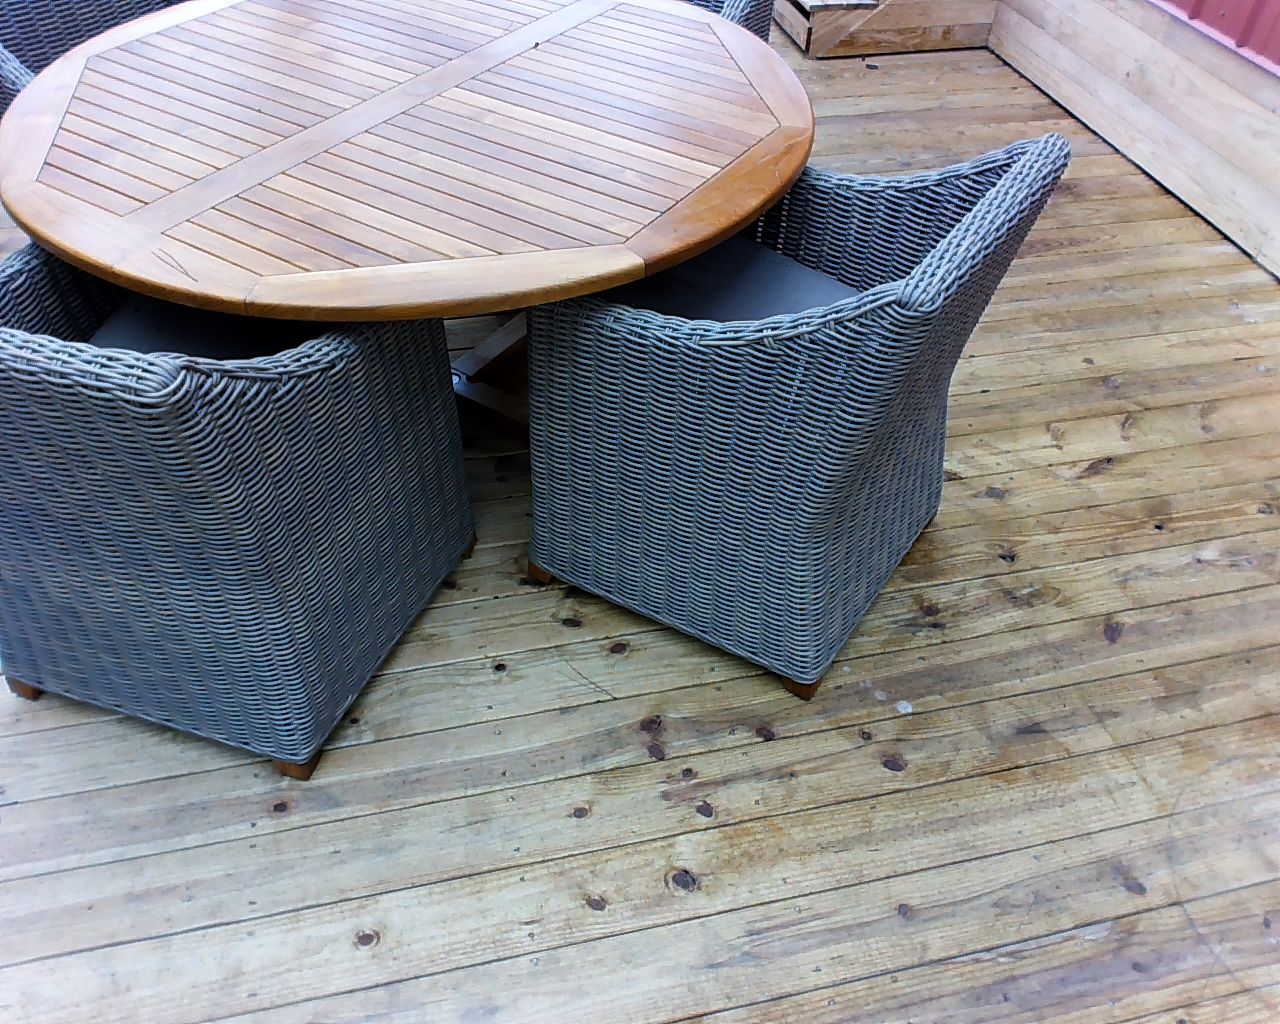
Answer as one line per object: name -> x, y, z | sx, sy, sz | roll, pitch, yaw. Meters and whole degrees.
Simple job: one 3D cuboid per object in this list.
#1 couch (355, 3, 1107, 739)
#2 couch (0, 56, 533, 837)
couch -> 0.160, -0.310, 2.030 | 0.970, 0.860, 0.760 | 23, 47, 22
couch -> -0.700, -0.140, 1.820 | 0.720, 0.860, 0.840 | 13, 44, 13
